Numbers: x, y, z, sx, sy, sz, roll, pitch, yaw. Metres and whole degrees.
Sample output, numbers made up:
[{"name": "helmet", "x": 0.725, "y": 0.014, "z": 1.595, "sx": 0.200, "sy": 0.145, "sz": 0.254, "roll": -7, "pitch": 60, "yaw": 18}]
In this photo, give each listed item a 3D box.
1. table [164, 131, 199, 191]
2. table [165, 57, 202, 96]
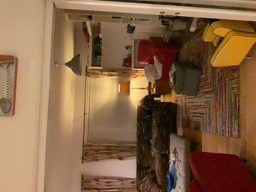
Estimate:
[{"name": "table", "x": 0.930, "y": 1.510, "z": 3.820, "sx": 0.870, "sy": 0.320, "sz": 1.630, "roll": 163, "pitch": 108, "yaw": -84}, {"name": "table", "x": 0.950, "y": -0.360, "z": 3.760, "sx": 0.640, "sy": 0.390, "sz": 0.470, "roll": -100, "pitch": 13, "yaw": -63}]
